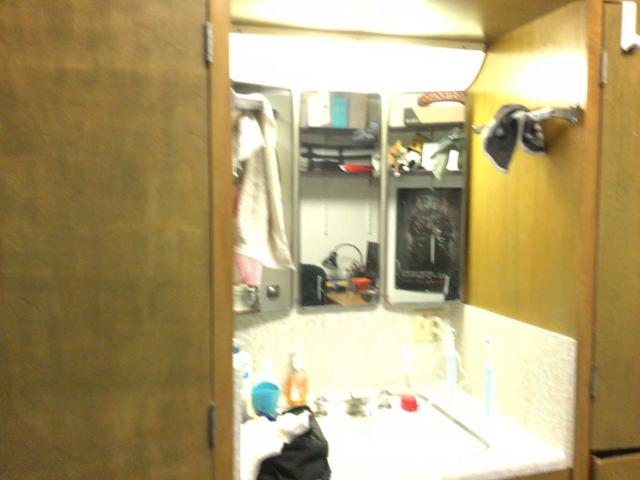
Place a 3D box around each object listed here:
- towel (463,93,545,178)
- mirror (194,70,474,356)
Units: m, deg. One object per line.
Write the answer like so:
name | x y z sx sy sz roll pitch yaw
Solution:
towel | 0.500 -0.280 1.580 0.160 0.210 0.140 -2 3 -16
mirror | 0.050 -0.090 1.870 0.860 0.810 0.240 -2 3 -16
